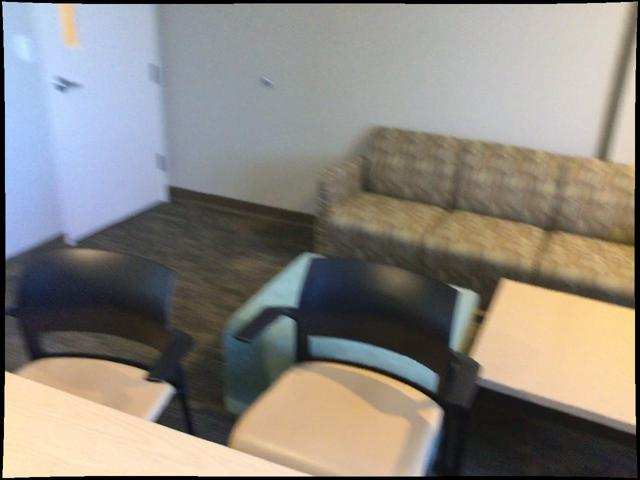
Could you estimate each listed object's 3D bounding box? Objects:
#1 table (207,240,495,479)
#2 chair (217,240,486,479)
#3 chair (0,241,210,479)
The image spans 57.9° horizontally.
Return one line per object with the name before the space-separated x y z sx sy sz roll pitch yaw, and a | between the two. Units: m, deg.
table | 0.150 0.430 2.210 0.869 0.440 0.770 12 26 17
chair | 0.100 0.501 1.650 0.540 0.731 0.610 12 26 17
chair | -0.629 0.490 1.470 0.569 0.781 0.530 5 25 2
